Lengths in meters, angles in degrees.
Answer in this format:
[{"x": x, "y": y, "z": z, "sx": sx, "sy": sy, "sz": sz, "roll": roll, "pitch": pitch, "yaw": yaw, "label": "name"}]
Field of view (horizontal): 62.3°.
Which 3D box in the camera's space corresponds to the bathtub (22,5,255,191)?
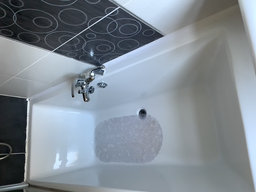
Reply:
[{"x": -0.010, "y": 0.240, "z": 1.400, "sx": 1.630, "sy": 0.590, "sz": 0.740, "roll": -15, "pitch": 72, "yaw": 38, "label": "bathtub"}]
